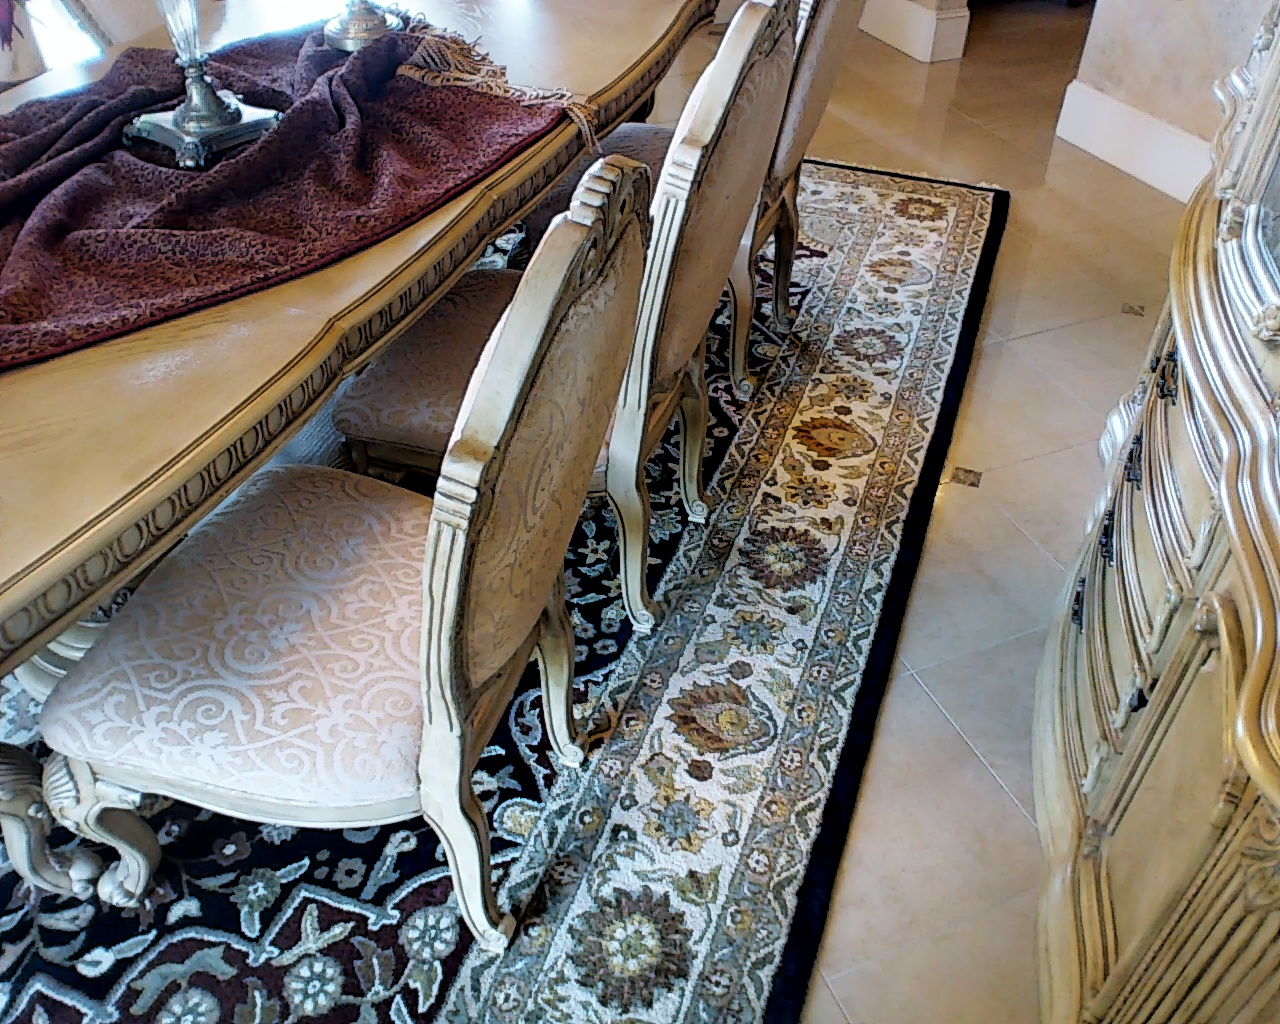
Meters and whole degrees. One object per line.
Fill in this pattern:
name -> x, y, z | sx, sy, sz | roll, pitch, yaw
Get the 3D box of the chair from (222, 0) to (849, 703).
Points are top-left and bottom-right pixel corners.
chair -> -0.110, -0.370, 1.910 | 0.690, 1.150, 0.660 | 16, 43, 16

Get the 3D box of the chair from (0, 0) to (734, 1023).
chair -> -0.400, 0.060, 1.420 | 0.800, 1.150, 0.670 | 16, 43, 16

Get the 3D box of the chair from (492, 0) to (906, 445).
chair -> 0.150, -0.890, 2.530 | 0.720, 1.170, 0.620 | 18, 44, 18
